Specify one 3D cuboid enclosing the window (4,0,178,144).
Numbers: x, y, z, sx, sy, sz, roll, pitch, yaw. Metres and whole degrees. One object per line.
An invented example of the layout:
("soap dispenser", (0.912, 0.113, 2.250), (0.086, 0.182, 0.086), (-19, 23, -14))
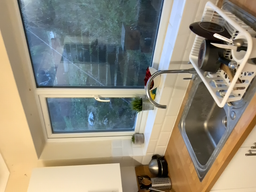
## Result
("window", (-0.260, -0.230, 1.680), (0.050, 1.070, 1.880), (-101, 14, -48))
